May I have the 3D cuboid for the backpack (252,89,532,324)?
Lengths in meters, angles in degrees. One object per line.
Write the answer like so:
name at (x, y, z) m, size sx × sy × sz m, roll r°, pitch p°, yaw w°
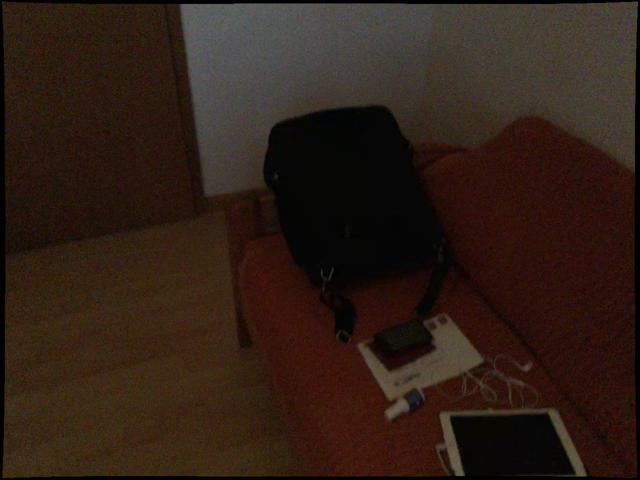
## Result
backpack at (0.140, -0.120, 1.490) m, size 0.510 × 0.320 × 0.490 m, roll -10°, pitch 40°, yaw -19°
